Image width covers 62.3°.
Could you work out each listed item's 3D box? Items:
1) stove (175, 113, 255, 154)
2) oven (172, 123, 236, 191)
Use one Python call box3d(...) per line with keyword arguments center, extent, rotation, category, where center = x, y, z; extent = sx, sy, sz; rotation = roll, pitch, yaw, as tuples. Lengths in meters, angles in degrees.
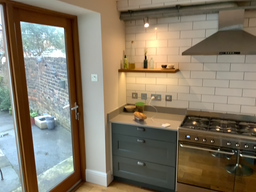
box3d(center=(1.050, 0.390, 2.350), extent=(0.930, 0.140, 0.620), rotation=(5, 13, 23), category="stove")
box3d(center=(0.890, 0.800, 2.500), extent=(0.590, 0.730, 0.620), rotation=(5, 13, 23), category="oven")
